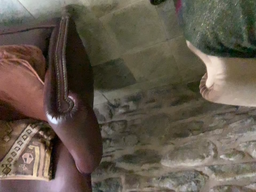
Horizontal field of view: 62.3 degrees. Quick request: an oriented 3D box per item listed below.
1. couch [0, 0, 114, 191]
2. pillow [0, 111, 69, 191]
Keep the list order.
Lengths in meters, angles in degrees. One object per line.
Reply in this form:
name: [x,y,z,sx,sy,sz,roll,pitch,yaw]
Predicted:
couch: [-0.560,0.100,1.170,0.860,0.810,0.840,-3,144,2]
pillow: [-0.590,0.290,1.160,0.400,0.340,0.150,5,151,28]
